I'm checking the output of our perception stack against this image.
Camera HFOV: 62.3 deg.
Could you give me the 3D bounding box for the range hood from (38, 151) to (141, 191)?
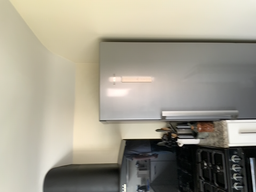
[{"bbox_3d":[-0.300,0.810,1.790,0.370,0.780,0.590,142,128,-84],"label":"range hood"}]
